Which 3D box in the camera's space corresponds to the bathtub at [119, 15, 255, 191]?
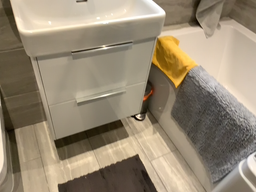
[{"bbox_3d":[0.710,0.280,1.140,0.830,0.580,1.670,-16,52,-23],"label":"bathtub"}]
